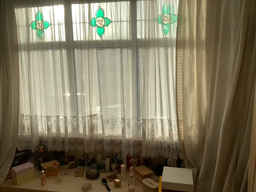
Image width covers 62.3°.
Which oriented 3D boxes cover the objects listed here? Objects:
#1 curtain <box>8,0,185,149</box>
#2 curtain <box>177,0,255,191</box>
[{"bbox_3d":[-0.310,-0.250,2.020,1.590,1.460,0.120,2,9,4],"label":"curtain"},{"bbox_3d":[0.700,-0.100,1.550,0.200,1.840,0.610,-4,10,-32],"label":"curtain"}]
